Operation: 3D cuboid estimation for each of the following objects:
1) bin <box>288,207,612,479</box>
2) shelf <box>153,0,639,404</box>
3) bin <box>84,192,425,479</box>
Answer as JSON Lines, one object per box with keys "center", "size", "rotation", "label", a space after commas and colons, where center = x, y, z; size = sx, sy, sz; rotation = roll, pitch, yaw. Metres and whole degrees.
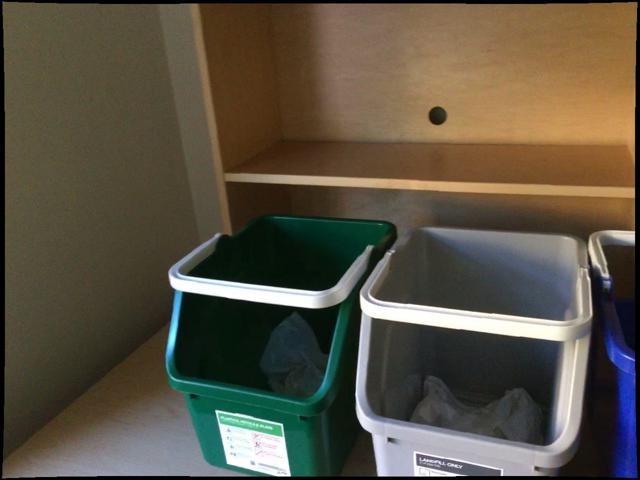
{"center": [0.209, 0.190, 0.860], "size": [0.349, 0.351, 0.390], "rotation": [4, 24, 22], "label": "bin"}
{"center": [0.180, -0.170, 1.150], "size": [0.828, 0.772, 0.360], "rotation": [4, 24, 22], "label": "shelf"}
{"center": [-0.060, 0.160, 1.000], "size": [0.389, 0.351, 0.440], "rotation": [4, 24, 22], "label": "bin"}
